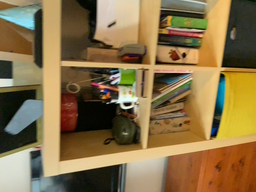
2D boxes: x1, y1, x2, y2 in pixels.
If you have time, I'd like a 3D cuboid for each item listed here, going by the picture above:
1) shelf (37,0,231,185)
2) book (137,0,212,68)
[{"bbox_3d":[0.010,-0.490,0.930,0.450,0.740,1.520,-152,64,-62],"label":"shelf"},{"bbox_3d":[0.220,-0.330,1.030,0.170,0.270,0.360,-151,64,-62],"label":"book"}]
